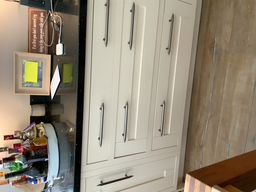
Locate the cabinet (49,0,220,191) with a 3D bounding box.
[{"bbox_3d":[0.020,-0.180,1.450,0.600,0.900,1.640,19,107,54],"label":"cabinet"}]
